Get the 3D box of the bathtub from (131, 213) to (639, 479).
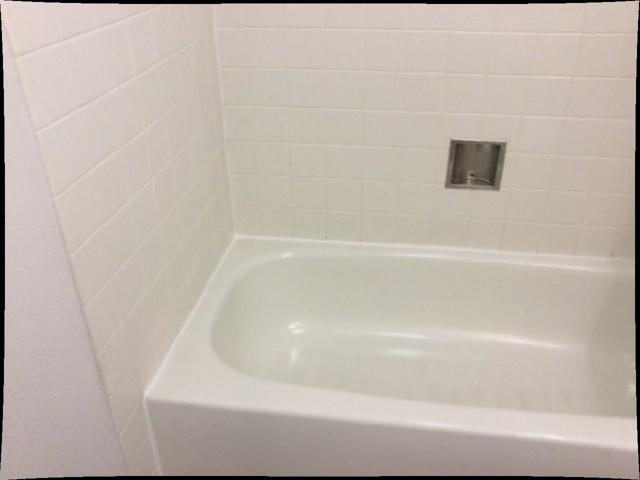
[{"bbox_3d":[0.379,0.361,1.590,1.478,0.410,0.790,5,32,6],"label":"bathtub"}]
